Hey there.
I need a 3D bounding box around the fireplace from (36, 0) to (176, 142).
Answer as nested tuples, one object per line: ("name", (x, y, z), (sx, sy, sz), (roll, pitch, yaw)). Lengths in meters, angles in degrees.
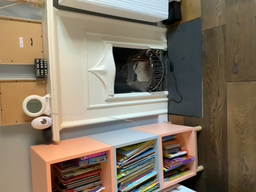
("fireplace", (-0.090, -0.210, 1.580), (0.230, 1.020, 0.890), (2, 95, 55))
